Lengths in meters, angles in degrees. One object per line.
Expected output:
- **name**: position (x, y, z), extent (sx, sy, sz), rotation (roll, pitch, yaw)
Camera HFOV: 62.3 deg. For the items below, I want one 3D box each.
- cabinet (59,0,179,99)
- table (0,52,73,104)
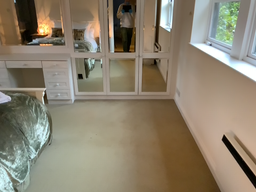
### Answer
- **cabinet**: position (-0.130, -1.090, 3.340), extent (1.740, 2.360, 0.270), rotation (0, 23, -1)
- **table**: position (-1.650, -0.310, 3.530), extent (1.280, 0.760, 0.450), rotation (0, 23, -1)
